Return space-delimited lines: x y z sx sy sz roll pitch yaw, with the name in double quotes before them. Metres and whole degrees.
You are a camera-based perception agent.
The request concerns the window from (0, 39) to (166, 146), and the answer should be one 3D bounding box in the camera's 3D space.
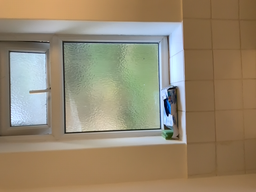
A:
"window" -0.270 -0.030 1.260 0.050 0.990 0.600 162 107 -82
